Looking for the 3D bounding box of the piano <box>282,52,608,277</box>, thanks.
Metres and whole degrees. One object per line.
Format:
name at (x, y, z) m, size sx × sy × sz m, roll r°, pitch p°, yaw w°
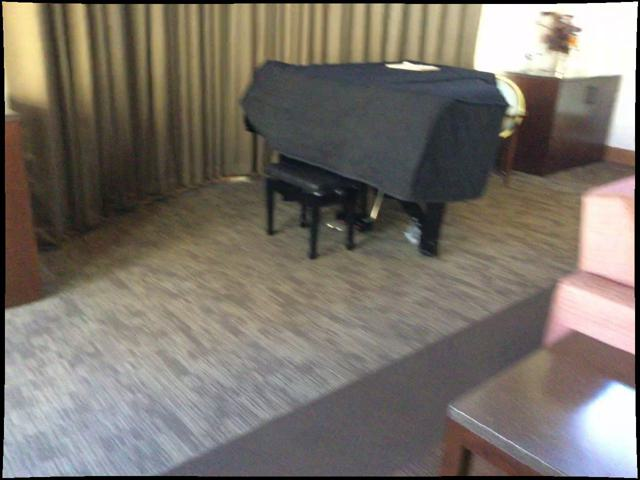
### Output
piano at (0.789, -0.601, 3.550) m, size 1.839 × 0.851 × 0.940 m, roll -19°, pitch 32°, yaw -37°
